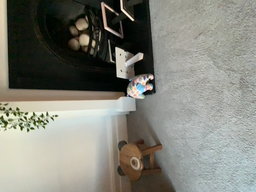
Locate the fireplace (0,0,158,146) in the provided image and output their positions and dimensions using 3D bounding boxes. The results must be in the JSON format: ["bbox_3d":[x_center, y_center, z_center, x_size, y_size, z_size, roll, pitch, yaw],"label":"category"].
[{"bbox_3d":[-0.470,-0.540,1.520,0.660,1.240,1.570,-6,85,43],"label":"fireplace"}]

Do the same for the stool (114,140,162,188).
[{"bbox_3d":[0.080,0.520,1.690,0.280,0.230,0.290,-9,83,43],"label":"stool"}]
